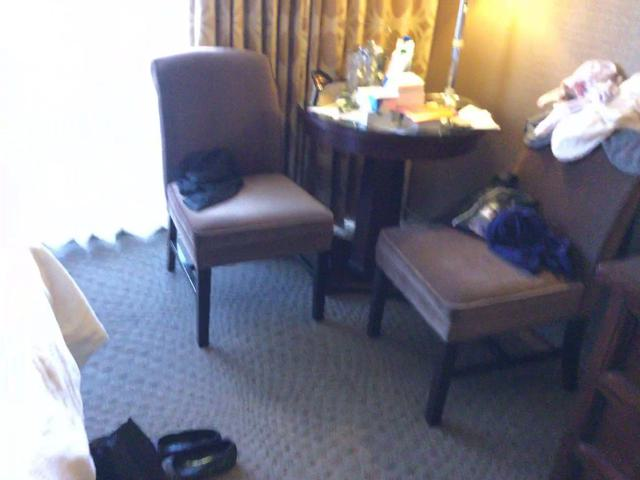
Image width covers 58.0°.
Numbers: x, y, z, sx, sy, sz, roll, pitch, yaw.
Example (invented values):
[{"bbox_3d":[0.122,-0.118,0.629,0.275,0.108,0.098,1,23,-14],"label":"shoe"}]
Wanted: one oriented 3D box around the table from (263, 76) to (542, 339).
[{"bbox_3d":[0.270,-0.210,2.460,0.790,0.810,0.800,-8,27,-23],"label":"table"}]
